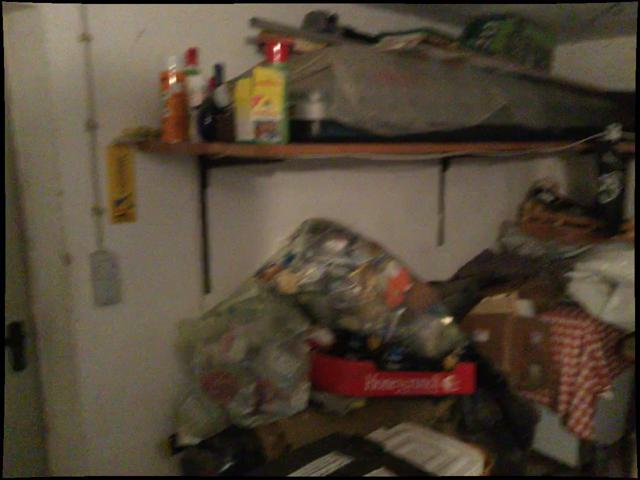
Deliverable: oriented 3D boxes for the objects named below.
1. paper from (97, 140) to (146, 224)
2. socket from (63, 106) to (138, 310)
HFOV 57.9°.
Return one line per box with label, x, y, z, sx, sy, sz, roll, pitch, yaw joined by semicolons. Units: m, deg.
paper;-0.579;-0.170;1.690;0.100;0.230;0.040;-14;18;-40
socket;-0.619;-0.090;1.640;0.100;0.561;0.100;-14;18;-40
